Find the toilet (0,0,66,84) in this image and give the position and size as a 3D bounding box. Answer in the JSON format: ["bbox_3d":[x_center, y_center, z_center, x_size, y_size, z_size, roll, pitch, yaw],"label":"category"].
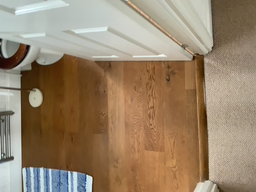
[{"bbox_3d":[-1.000,-0.380,1.580,0.640,0.800,0.510,-2,89,28],"label":"toilet"}]
